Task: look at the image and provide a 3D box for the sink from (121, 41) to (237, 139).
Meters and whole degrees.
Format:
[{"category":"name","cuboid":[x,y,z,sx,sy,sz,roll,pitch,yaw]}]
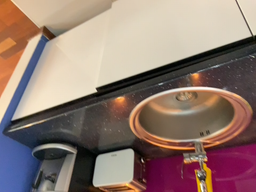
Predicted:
[{"category":"sink","cuboid":[0.250,0.010,1.020,0.420,0.190,0.380,-16,139,24]}]
